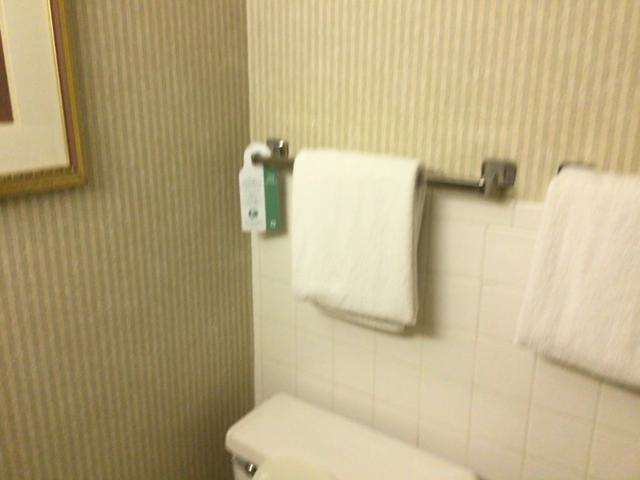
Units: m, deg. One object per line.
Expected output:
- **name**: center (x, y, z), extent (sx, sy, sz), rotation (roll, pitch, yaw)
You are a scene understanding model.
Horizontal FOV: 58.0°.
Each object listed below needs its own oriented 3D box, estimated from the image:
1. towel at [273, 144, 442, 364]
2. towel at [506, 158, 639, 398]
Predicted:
- **towel**: center (0.070, 0.010, 1.120), extent (0.290, 0.370, 0.130), rotation (8, 17, 34)
- **towel**: center (0.440, 0.050, 0.860), extent (0.270, 0.320, 0.120), rotation (8, 17, 34)
